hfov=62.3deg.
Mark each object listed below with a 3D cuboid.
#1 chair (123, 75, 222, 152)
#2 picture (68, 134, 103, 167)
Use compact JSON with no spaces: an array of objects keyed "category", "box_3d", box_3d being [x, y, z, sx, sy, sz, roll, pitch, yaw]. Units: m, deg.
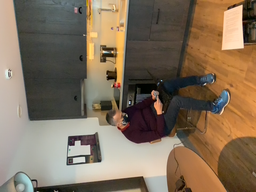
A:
[{"category":"chair","box_3d":[0.450,0.210,2.540,0.670,0.860,0.620,106,159,-51]},{"category":"picture","box_3d":[-0.530,0.650,2.600,0.540,0.380,0.030,-116,29,-62]}]
